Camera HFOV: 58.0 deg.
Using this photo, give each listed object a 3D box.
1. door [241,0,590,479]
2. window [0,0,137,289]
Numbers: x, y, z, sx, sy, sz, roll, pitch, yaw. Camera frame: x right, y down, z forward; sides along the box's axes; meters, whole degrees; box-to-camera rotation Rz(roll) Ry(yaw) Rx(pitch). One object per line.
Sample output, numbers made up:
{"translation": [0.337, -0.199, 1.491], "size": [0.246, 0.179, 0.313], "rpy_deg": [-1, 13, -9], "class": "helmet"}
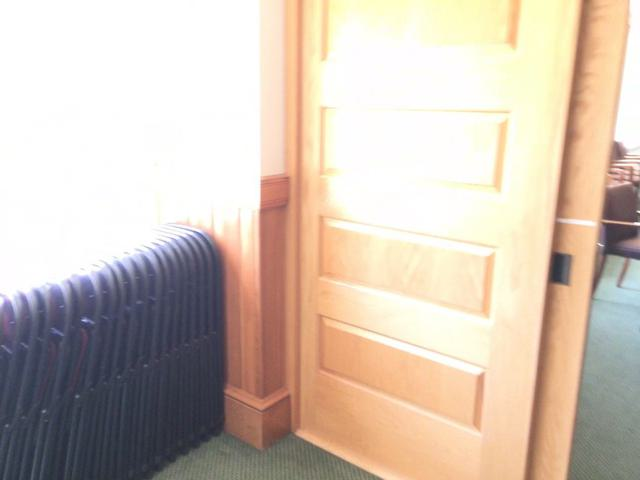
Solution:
{"translation": [0.270, 0.050, 2.000], "size": [1.090, 1.800, 0.210], "rpy_deg": [8, 19, 36], "class": "door"}
{"translation": [-1.330, -0.350, 2.110], "size": [0.310, 1.060, 1.170], "rpy_deg": [8, 19, 36], "class": "window"}
